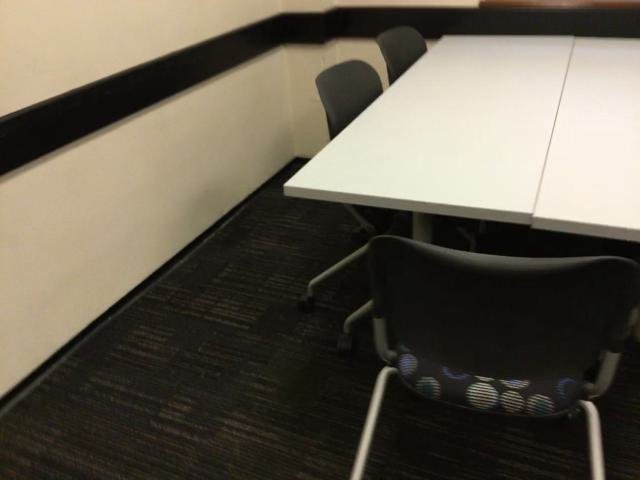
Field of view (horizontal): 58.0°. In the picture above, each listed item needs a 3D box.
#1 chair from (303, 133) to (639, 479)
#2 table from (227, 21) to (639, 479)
[{"bbox_3d":[0.420,0.250,1.340,0.610,0.800,0.610,9,32,27],"label":"chair"},{"bbox_3d":[0.830,-0.180,2.060,1.430,0.830,1.780,9,32,25],"label":"table"}]
